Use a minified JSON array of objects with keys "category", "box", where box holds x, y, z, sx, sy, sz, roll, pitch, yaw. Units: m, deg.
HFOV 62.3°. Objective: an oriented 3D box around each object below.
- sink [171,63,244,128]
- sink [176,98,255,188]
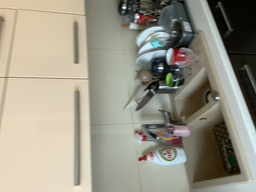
[{"category":"sink","box":[0.430,0.020,1.240,0.440,0.150,0.200,118,149,-61]},{"category":"sink","box":[0.480,0.270,1.130,0.440,0.200,0.370,118,149,-61]}]
